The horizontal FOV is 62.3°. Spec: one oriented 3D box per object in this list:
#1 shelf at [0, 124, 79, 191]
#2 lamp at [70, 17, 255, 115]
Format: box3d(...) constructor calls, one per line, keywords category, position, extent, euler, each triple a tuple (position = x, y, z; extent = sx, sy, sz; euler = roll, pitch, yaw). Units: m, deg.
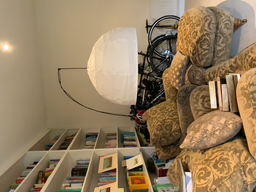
box3d(category="shelf", position=(-1.090, 1.020, 1.880), extent=(4.300, 0.590, 0.370), euler=(-114, 23, -81))
box3d(category="lamp", position=(0.330, -0.330, 1.970), extent=(0.730, 1.500, 0.700), euler=(-99, 8, -66))
